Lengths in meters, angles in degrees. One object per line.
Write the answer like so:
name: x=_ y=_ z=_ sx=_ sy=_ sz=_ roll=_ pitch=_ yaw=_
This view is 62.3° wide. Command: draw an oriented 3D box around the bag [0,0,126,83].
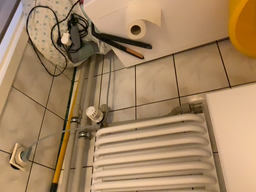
bag: x=-0.270 y=-0.330 z=1.040 sx=0.360 sy=0.240 sz=0.470 roll=-12 pitch=146 yaw=20
